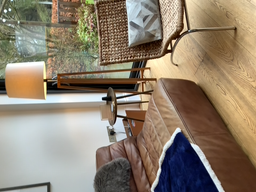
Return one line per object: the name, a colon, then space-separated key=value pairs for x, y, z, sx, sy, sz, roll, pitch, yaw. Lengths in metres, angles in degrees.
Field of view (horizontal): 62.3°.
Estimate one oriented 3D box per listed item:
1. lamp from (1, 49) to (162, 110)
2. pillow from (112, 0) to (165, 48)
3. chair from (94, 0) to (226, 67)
lamp: x=-0.460 y=-0.180 z=2.350 sx=0.420 sy=1.540 sz=0.440 roll=113 pitch=149 yaw=-51
pillow: x=0.100 y=-0.670 z=1.790 sx=0.110 sy=0.280 sz=0.440 roll=-22 pitch=104 yaw=45
chair: x=0.170 y=-0.650 z=1.700 sx=0.710 sy=0.740 sz=0.630 roll=147 pitch=119 yaw=-68
